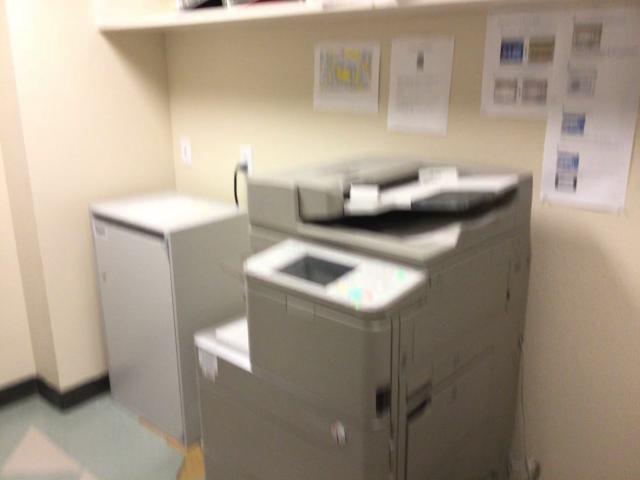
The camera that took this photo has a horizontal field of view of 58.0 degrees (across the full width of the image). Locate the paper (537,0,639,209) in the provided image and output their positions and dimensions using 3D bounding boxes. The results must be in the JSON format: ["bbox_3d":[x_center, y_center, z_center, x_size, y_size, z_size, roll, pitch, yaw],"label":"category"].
[{"bbox_3d":[0.680,-0.340,1.430,0.220,0.500,0.040,13,19,40],"label":"paper"}]

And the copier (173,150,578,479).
[{"bbox_3d":[0.140,0.400,1.590,0.720,1.190,0.720,13,19,40],"label":"copier"}]

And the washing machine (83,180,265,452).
[{"bbox_3d":[-0.590,0.260,2.390,0.590,0.910,0.430,13,19,40],"label":"washing machine"}]
